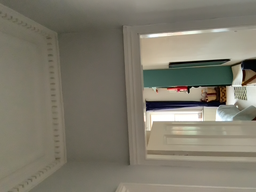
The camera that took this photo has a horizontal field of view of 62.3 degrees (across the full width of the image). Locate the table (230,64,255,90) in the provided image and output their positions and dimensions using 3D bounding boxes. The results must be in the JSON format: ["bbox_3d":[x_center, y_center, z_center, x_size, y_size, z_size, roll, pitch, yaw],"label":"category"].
[{"bbox_3d":[2.290,-0.340,3.950,0.660,0.540,0.400,7,-98,-81],"label":"table"}]
